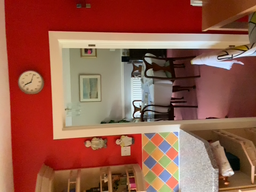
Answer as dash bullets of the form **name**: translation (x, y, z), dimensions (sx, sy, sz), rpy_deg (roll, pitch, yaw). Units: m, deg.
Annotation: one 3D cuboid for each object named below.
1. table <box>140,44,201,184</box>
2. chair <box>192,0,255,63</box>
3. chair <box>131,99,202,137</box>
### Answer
- **table**: translation (0.700, 0.270, 3.790), dimensions (0.960, 0.750, 2.160), rpy_deg (-179, 88, -81)
- **chair**: translation (0.970, -0.470, 1.480), dimensions (0.360, 0.920, 0.460), rpy_deg (-148, 58, -79)
- **chair**: translation (0.610, 0.330, 3.500), dimensions (0.540, 1.020, 0.530), rpy_deg (-173, 82, -81)
